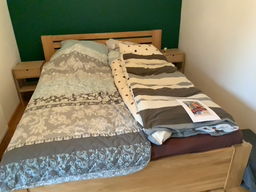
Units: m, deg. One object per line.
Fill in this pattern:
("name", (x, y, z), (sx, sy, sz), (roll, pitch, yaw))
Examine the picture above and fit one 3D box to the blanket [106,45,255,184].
("blanket", (0.250, -0.090, 2.190), (0.780, 0.400, 2.000), (-5, 27, -8))
